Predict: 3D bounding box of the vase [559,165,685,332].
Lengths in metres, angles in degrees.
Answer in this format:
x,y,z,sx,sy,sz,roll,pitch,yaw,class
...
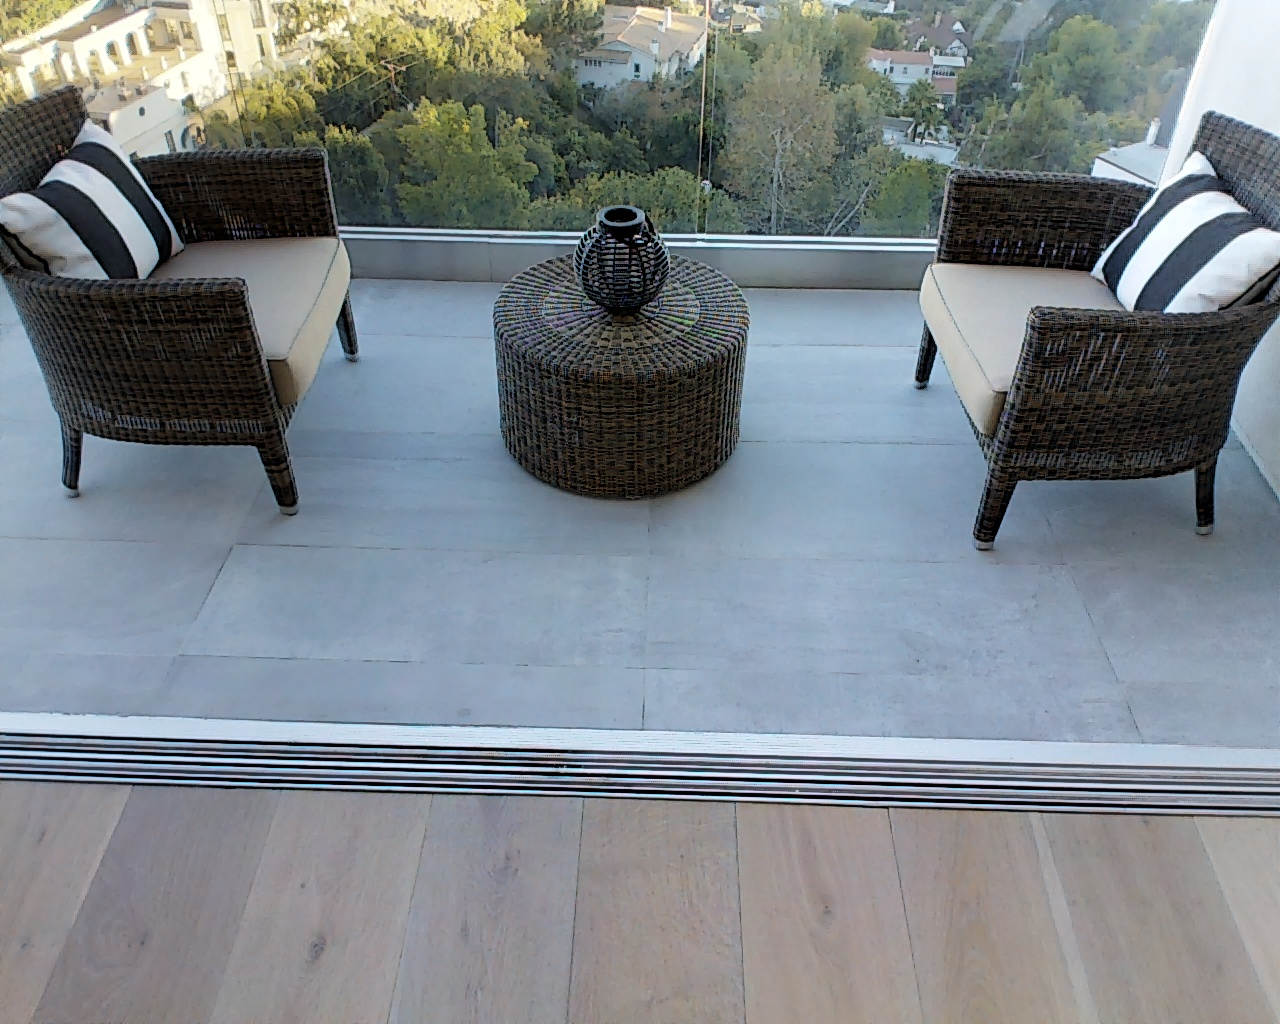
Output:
x,y,z,sx,sy,sz,roll,pitch,yaw,class
-0.030,-0.600,2.440,0.260,0.250,0.310,0,41,3,vase

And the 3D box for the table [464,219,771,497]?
x,y,z,sx,sy,sz,roll,pitch,yaw,class
-0.040,-0.390,2.630,0.650,0.380,0.620,-1,41,2,table
